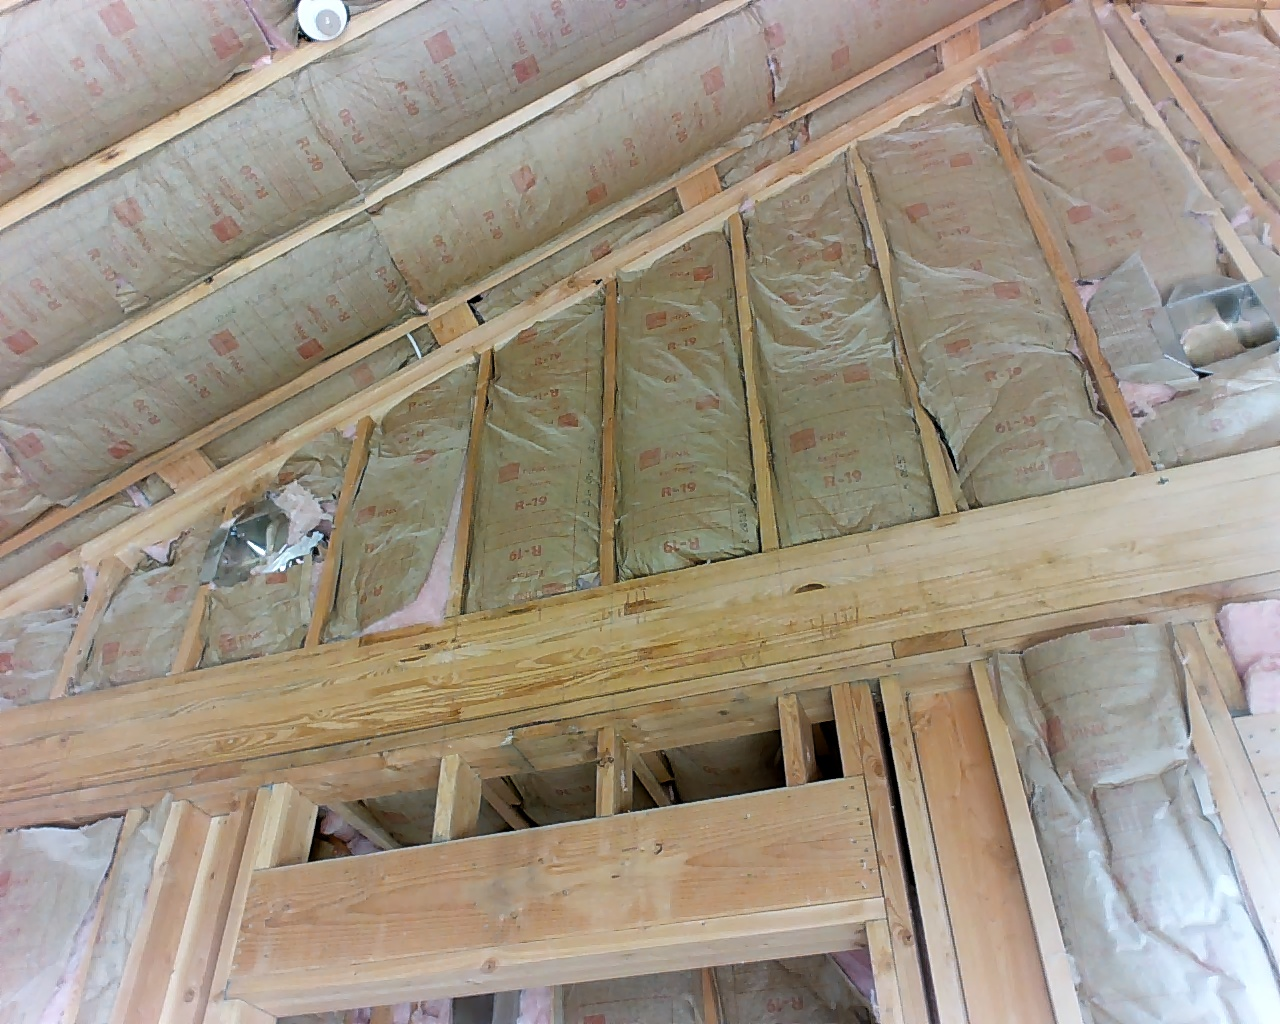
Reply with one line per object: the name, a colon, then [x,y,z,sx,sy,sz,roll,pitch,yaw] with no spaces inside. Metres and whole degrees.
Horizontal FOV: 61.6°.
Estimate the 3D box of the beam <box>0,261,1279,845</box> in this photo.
beam: [0.030,0.120,2.670,4.268,0.890,0.160,-12,-43,14]
